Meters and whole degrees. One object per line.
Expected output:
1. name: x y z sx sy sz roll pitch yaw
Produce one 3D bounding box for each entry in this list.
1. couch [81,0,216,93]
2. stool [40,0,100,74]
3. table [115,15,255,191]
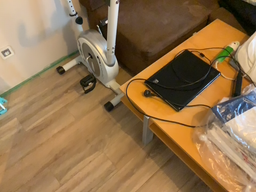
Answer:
1. couch: 0.120 -0.610 1.650 0.620 0.650 0.750 -36 62 -20
2. stool: -0.420 -0.600 1.450 0.240 0.990 0.230 -36 62 -20
3. table: 0.570 0.080 1.310 0.900 0.430 0.900 -36 62 -20
